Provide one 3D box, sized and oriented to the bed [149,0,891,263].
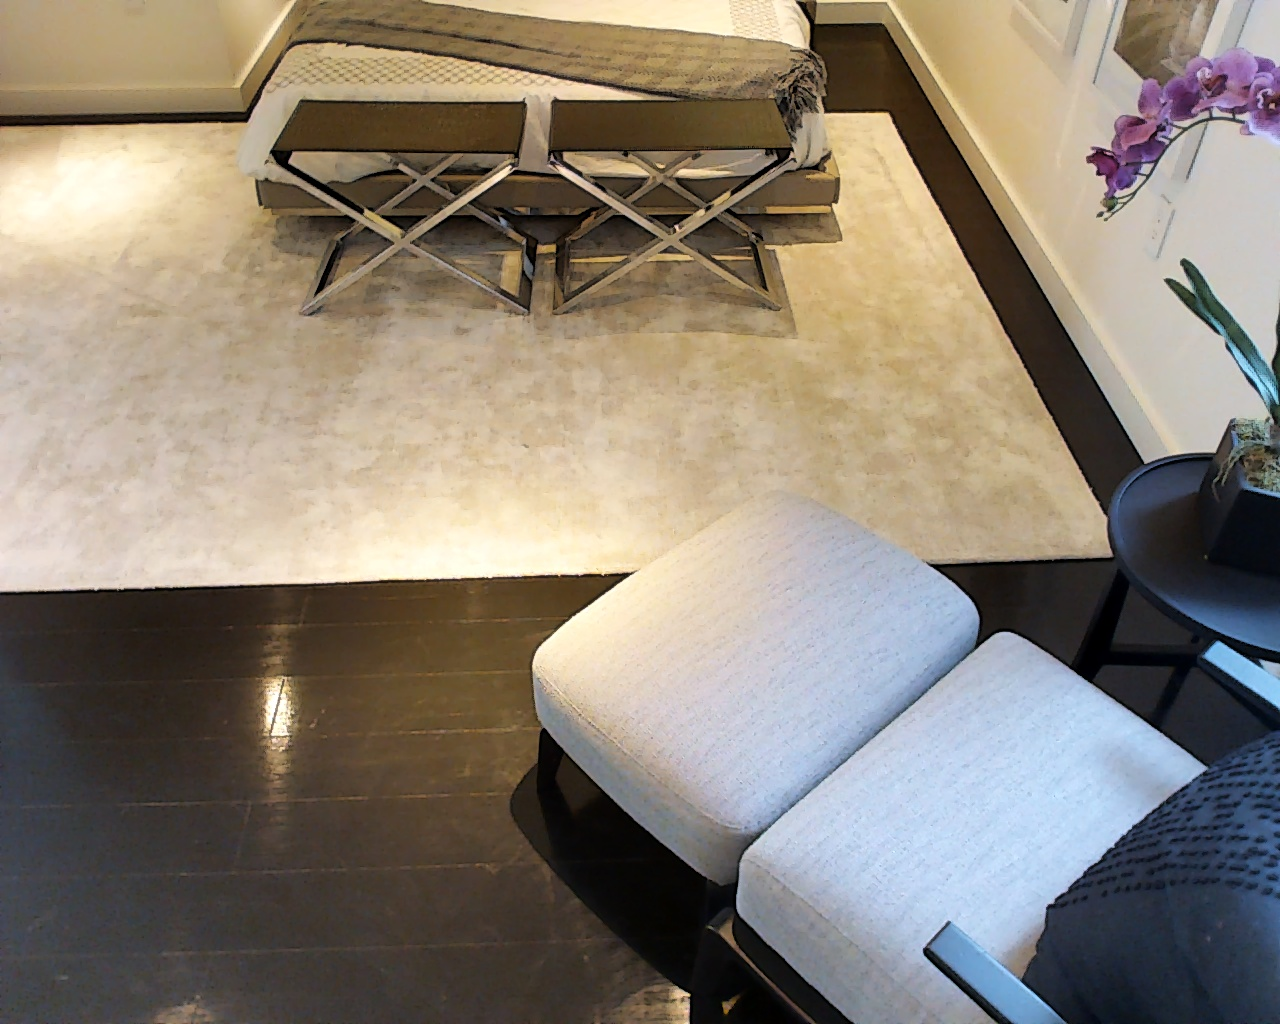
[{"bbox_3d":[-0.320,-1.750,3.620,1.830,0.880,2.070,-1,42,-1],"label":"bed"}]
